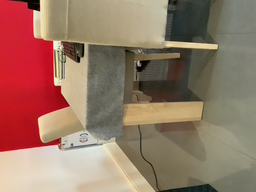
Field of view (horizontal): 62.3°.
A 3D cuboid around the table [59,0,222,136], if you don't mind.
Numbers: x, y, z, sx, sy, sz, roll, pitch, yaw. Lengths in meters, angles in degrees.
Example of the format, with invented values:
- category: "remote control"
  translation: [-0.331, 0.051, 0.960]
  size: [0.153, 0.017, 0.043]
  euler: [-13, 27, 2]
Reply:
- category: "table"
  translation: [0.000, -0.720, 1.420]
  size: [0.920, 0.760, 1.630]
  euler: [-151, 61, -61]
